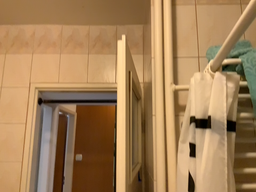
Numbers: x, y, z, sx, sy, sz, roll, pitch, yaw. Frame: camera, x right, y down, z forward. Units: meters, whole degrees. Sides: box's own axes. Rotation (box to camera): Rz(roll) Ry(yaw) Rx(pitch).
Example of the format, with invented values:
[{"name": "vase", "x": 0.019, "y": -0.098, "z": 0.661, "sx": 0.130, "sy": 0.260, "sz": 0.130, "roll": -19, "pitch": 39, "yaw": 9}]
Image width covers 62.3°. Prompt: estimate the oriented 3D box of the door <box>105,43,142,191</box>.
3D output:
[{"name": "door", "x": 0.000, "y": 0.860, "z": 0.870, "sx": 0.080, "sy": 1.990, "sz": 0.680, "roll": 0, "pitch": -11, "yaw": 6}]
